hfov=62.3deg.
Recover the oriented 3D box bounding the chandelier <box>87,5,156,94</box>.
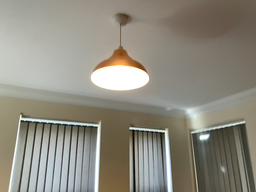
[{"bbox_3d":[-0.040,-0.240,1.220,0.280,0.360,0.270,11,-22,-31],"label":"chandelier"}]

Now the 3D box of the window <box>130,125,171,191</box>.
[{"bbox_3d":[0.290,1.180,2.660,0.580,1.590,0.040,9,-20,-25],"label":"window"}]

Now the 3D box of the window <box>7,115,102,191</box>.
[{"bbox_3d":[-0.720,0.970,2.160,0.900,1.490,0.030,10,-21,-27],"label":"window"}]
